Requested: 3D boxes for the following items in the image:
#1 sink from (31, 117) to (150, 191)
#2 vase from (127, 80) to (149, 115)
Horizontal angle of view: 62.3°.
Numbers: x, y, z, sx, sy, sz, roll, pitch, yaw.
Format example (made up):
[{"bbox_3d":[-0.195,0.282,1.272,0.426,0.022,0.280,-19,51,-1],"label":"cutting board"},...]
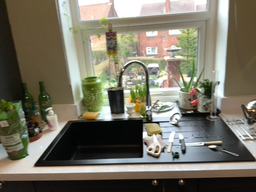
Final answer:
[{"bbox_3d":[-0.160,0.330,1.230,0.550,0.220,0.480,-3,18,4],"label":"sink"},{"bbox_3d":[0.080,0.000,1.570,0.140,0.170,0.290,-2,18,6],"label":"vase"}]
